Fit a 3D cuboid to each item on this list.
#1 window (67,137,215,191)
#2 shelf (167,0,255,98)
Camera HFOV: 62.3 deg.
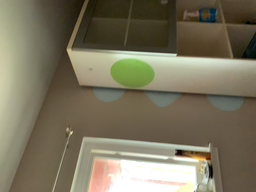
[{"bbox_3d":[0.080,0.670,1.400,0.120,0.950,0.720,88,-172,-54],"label":"window"},{"bbox_3d":[0.730,-0.710,1.930,0.400,0.680,1.440,88,-172,-54],"label":"shelf"}]
